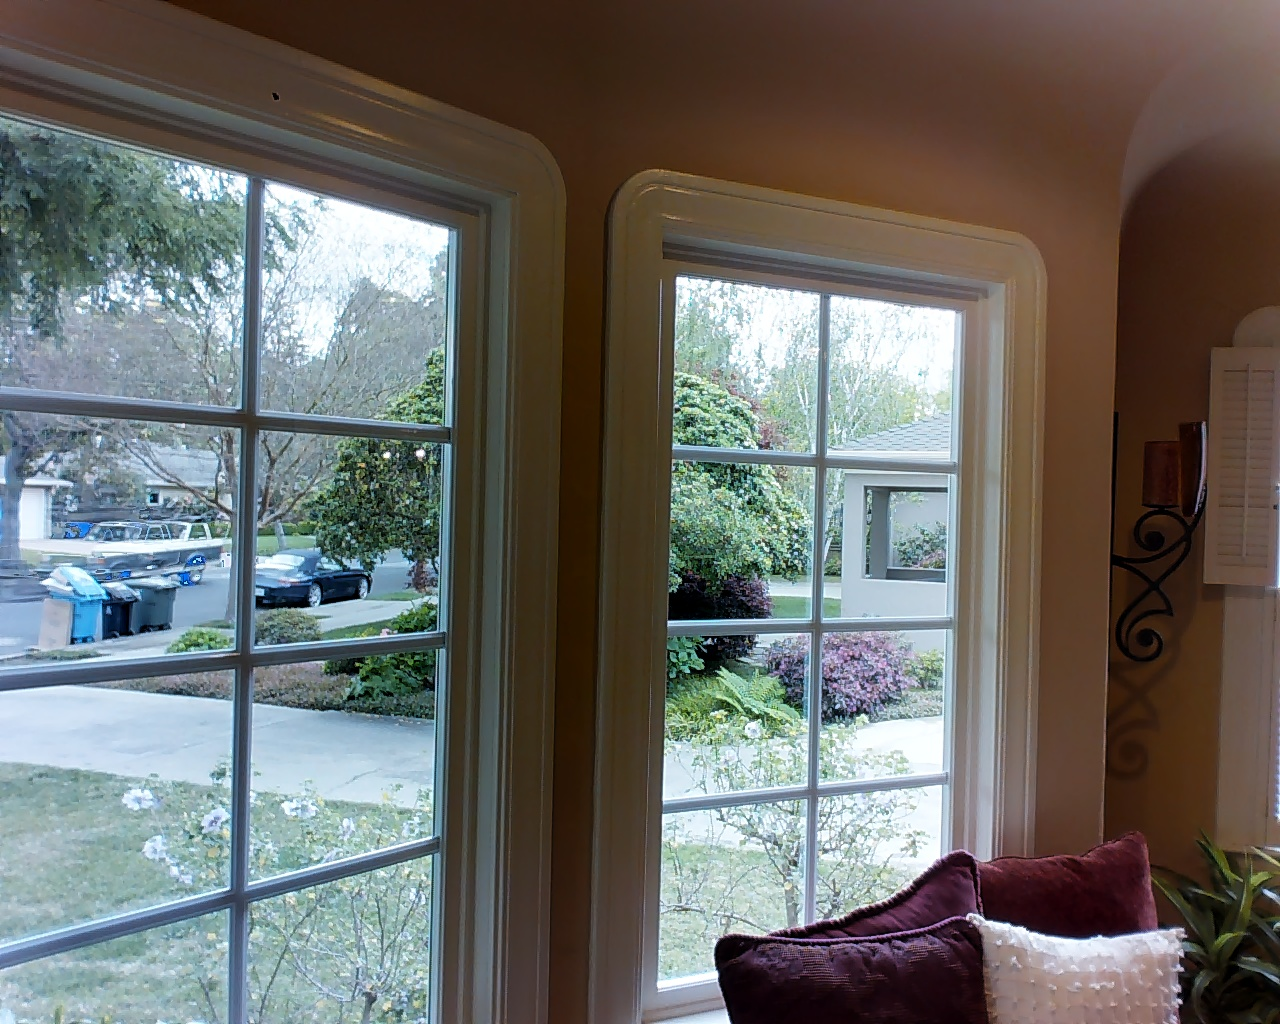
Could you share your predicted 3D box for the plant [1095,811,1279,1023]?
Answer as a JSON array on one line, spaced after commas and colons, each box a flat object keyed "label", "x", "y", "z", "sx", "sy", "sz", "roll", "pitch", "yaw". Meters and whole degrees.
[{"label": "plant", "x": 1.510, "y": 1.170, "z": 2.570, "sx": 0.680, "sy": 0.650, "sz": 0.640, "roll": 1, "pitch": 0, "yaw": 33}]

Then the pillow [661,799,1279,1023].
[{"label": "pillow", "x": 0.590, "y": 0.820, "z": 1.850, "sx": 1.010, "sy": 0.450, "sz": 0.450, "roll": 1, "pitch": 0, "yaw": -22}]
